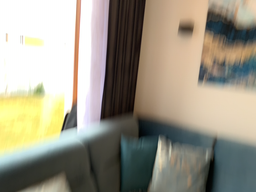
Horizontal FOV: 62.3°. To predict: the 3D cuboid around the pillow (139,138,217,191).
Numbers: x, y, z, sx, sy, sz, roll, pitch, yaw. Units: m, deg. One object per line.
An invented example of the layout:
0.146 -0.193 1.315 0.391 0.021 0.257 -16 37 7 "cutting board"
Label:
0.380 0.630 1.660 0.440 0.400 0.190 23 20 10 "pillow"
